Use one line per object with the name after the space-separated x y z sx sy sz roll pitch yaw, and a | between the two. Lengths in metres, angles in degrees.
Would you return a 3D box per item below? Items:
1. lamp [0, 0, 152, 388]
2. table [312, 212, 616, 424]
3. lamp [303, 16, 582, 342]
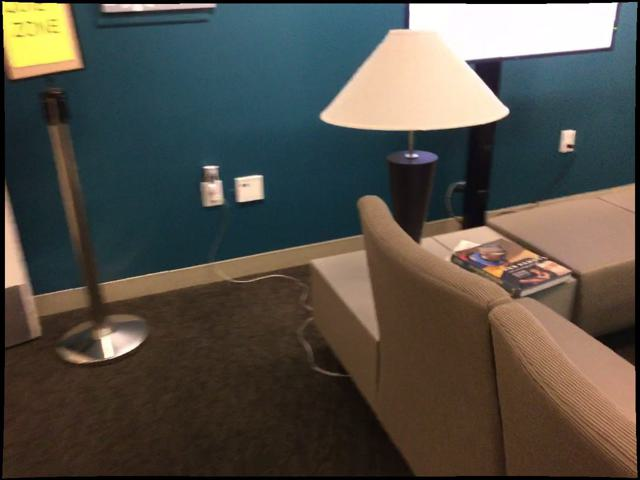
-0.898 -0.160 2.070 0.319 1.303 0.430 -12 27 -20 | lamp
0.479 0.221 2.070 0.848 0.321 0.580 -12 27 -20 | table
0.329 -0.231 1.790 0.579 0.812 0.520 -12 27 -20 | lamp
